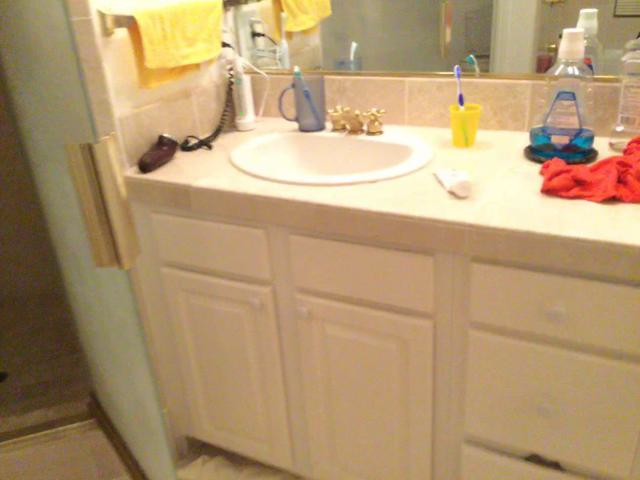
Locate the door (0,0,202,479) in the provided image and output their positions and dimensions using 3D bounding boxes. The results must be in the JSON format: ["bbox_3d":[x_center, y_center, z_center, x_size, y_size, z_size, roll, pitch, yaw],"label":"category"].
[{"bbox_3d":[-0.490,-0.010,1.230,0.130,1.290,0.610,-16,27,-32],"label":"door"}]

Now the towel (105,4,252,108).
[{"bbox_3d":[-0.330,-0.470,1.440,0.100,0.210,0.400,10,25,26],"label":"towel"}]

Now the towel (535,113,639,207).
[{"bbox_3d":[0.620,-0.160,1.120,0.330,0.100,0.310,10,25,26],"label":"towel"}]

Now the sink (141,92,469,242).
[{"bbox_3d":[-0.020,-0.220,1.440,0.650,0.200,0.470,10,25,26],"label":"sink"}]
